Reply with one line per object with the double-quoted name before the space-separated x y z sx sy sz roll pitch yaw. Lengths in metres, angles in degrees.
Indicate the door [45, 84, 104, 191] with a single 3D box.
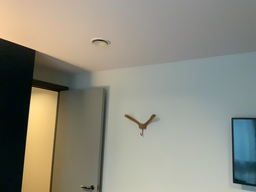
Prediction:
"door" -0.720 1.080 2.600 0.810 2.450 0.040 -2 -9 30
